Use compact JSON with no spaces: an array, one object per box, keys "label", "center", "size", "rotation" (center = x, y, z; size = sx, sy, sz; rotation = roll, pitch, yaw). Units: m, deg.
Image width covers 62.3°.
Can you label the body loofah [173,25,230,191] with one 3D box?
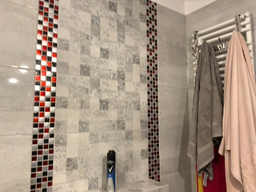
[{"label":"body loofah","center":[0.460,0.070,1.360],"size":[0.190,0.950,0.260],"rotation":[5,-8,-40]}]

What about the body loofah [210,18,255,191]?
[{"label":"body loofah","center":[0.620,0.200,1.160],"size":[0.220,1.160,0.210],"rotation":[5,-8,-41]}]
